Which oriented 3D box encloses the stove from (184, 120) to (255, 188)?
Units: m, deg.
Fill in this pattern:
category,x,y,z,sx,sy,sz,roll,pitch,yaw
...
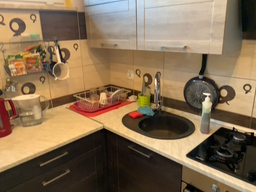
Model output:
category,x,y,z,sx,sy,sz,roll,pitch,yaw
stove,0.730,0.320,1.170,0.620,0.030,0.560,16,24,42
